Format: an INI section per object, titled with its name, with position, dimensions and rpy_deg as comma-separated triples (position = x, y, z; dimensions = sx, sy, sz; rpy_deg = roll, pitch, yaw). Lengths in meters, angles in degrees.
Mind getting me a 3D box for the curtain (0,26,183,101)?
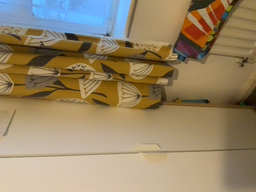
[curtain]
position = -0.460, -0.140, 0.930
dimensions = 0.120, 1.450, 0.270
rpy_deg = -109, 28, -47
